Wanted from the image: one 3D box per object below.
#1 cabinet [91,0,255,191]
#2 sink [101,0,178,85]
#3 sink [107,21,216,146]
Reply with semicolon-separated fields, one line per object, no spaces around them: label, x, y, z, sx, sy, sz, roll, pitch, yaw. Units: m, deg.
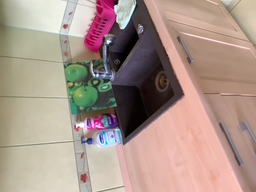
cabinet;0.390;-0.050;1.230;0.580;0.870;1.190;-49;49;48
sink;0.030;-0.270;1.150;0.480;0.160;0.180;-49;49;48
sink;0.110;-0.030;1.040;0.480;0.190;0.380;-49;49;48
